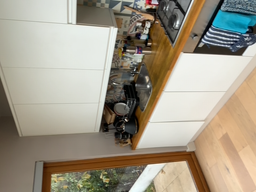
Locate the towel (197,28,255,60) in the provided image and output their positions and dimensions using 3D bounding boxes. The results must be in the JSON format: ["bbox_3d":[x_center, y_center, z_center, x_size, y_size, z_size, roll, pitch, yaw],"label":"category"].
[{"bbox_3d":[0.780,-0.380,1.570,0.180,0.480,0.090,107,157,-45],"label":"towel"}]

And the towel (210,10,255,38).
[{"bbox_3d":[0.750,-0.480,1.430,0.120,0.340,0.100,107,157,-46],"label":"towel"}]
